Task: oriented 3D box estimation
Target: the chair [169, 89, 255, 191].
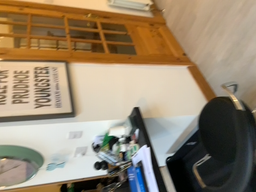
[{"bbox_3d":[0.710,0.190,1.160,0.520,0.760,0.390,-155,67,-66],"label":"chair"}]
